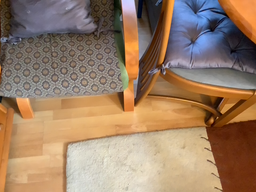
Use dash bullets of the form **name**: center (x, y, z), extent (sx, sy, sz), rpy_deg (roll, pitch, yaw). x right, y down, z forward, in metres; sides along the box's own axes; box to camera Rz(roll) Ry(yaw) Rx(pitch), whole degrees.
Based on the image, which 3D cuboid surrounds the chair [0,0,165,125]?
- **chair**: center (-0.290, -0.390, 0.930), extent (0.650, 0.980, 0.740), rpy_deg (-2, 66, -5)
